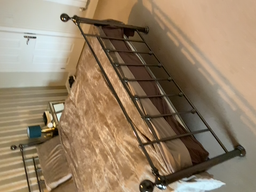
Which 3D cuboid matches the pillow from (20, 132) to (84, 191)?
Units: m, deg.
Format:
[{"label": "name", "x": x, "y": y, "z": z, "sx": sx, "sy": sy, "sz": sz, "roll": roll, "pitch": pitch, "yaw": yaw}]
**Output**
[{"label": "pillow", "x": -1.010, "y": 0.880, "z": 2.860, "sx": 0.630, "sy": 0.470, "sz": 0.280, "roll": 32, "pitch": 130, "yaw": 0}]
